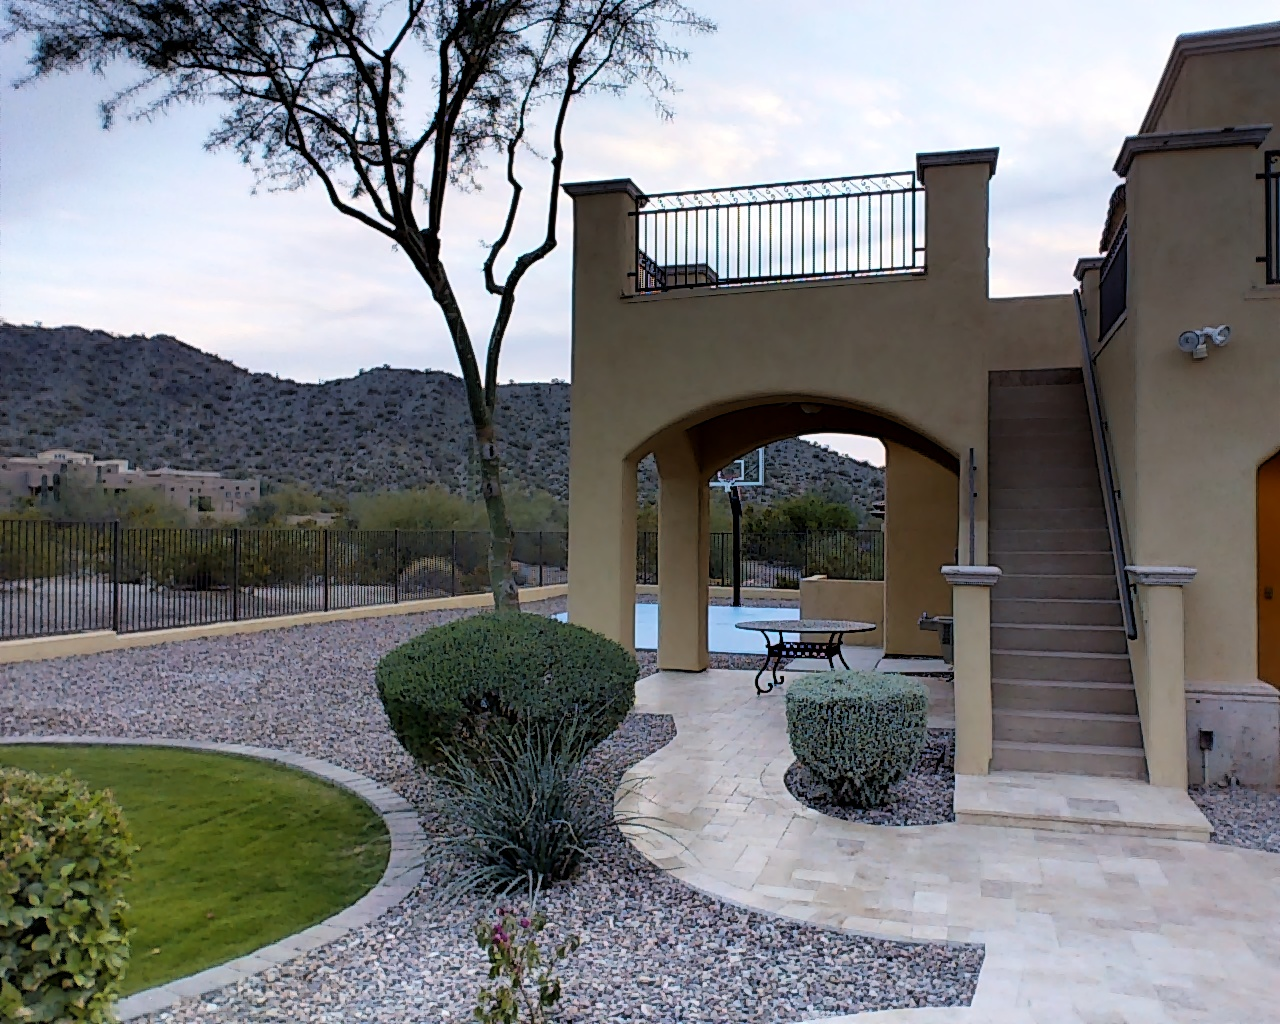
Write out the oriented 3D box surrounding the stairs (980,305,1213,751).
[{"bbox_3d":[3.580,0.520,8.960,1.320,0.400,5.420,1,-39,17],"label":"stairs"}]
